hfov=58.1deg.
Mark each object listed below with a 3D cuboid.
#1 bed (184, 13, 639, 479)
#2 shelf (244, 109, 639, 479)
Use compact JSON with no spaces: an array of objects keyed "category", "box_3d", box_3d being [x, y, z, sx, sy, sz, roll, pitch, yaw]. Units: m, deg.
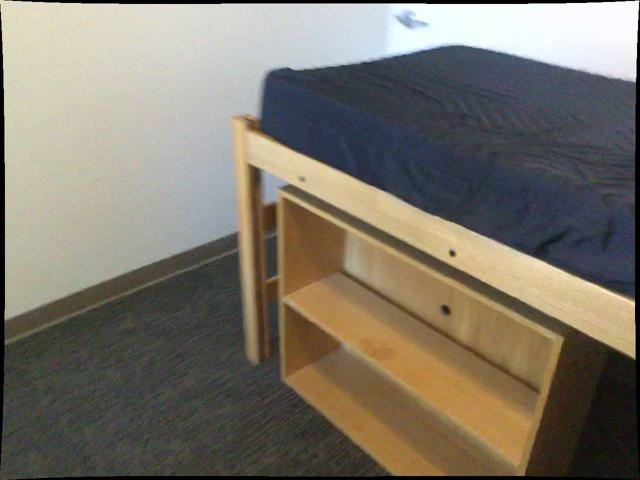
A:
[{"category":"bed","box_3d":[0.789,0.240,1.550,2.229,1.131,1.119,30,41,35]},{"category":"shelf","box_3d":[0.479,0.200,1.900,1.009,0.801,1.029,30,41,35]}]
